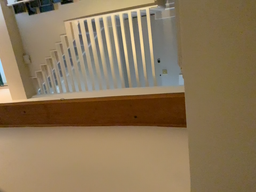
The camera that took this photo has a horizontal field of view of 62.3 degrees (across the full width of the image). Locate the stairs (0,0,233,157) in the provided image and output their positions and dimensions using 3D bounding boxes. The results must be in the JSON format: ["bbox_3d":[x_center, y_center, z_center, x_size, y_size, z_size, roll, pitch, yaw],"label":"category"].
[{"bbox_3d":[-0.370,-1.110,3.300,3.480,3.080,1.930,0,-161,23],"label":"stairs"}]
